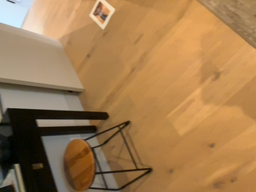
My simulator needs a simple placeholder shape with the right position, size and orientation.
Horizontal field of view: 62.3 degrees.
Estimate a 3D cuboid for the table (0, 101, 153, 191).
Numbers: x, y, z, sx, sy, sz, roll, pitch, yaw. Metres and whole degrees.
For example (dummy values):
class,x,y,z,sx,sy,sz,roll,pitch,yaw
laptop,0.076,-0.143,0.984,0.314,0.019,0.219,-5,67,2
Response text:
class,x,y,z,sx,sy,sz,roll,pitch,yaw
table,-0.330,0.460,1.450,0.260,0.810,0.830,-47,57,28
